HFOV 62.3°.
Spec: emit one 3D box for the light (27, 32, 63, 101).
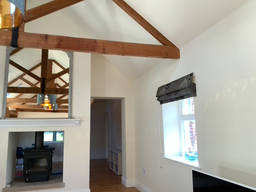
[{"bbox_3d":[-2.470,-0.830,6.340,0.640,1.840,0.700,-8,-11,42],"label":"light"}]
